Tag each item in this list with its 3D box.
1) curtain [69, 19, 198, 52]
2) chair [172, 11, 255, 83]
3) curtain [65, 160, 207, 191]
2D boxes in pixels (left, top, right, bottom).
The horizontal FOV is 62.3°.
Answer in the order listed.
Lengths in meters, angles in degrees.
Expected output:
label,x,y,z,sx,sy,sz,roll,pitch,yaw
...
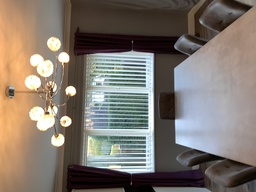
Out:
label,x,y,z,sx,sy,sz,roll,pitch,yaw
curtain,0.130,-1.070,3.810,0.210,2.270,0.380,133,138,-80
chair,0.970,-0.460,2.160,0.420,0.920,0.560,133,138,-80
curtain,0.160,1.320,3.470,0.250,2.250,0.480,138,134,-81
